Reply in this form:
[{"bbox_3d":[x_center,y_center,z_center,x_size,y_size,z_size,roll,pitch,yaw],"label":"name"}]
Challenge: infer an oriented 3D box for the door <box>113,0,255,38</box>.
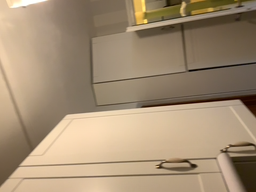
[{"bbox_3d":[0.990,-0.810,1.930,0.750,2.180,0.070,-76,-23,-62],"label":"door"}]
